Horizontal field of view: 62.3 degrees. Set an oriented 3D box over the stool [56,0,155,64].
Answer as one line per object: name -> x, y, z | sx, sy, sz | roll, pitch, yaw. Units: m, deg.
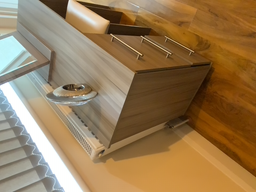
stool -> -0.180, -0.520, 1.610 | 0.470, 0.510, 0.330 | 42, 126, 31
